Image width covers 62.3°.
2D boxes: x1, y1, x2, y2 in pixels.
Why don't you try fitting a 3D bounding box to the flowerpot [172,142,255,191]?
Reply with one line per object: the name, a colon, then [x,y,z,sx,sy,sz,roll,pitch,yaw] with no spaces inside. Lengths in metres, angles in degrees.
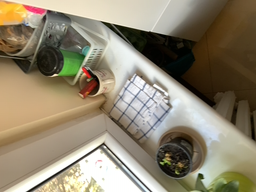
flowerpot: [0.230,0.300,0.500,0.220,0.220,0.230,42,116,15]
